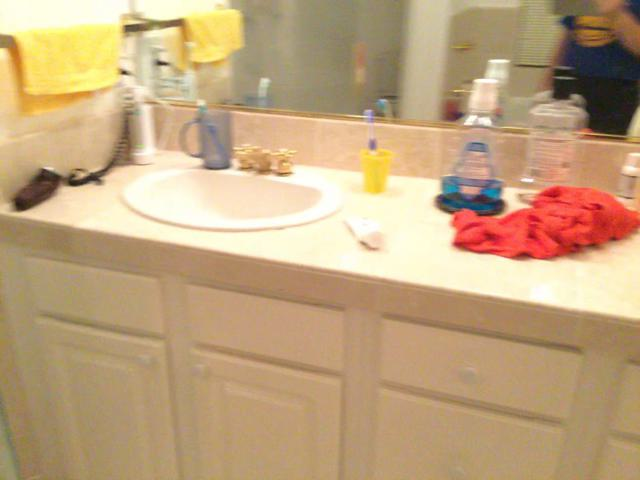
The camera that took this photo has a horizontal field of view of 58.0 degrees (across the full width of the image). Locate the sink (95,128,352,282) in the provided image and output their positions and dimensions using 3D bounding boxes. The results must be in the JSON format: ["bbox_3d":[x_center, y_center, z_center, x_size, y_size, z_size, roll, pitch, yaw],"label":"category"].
[{"bbox_3d":[-0.190,-0.110,1.330,0.410,0.190,0.440,9,22,17],"label":"sink"}]
